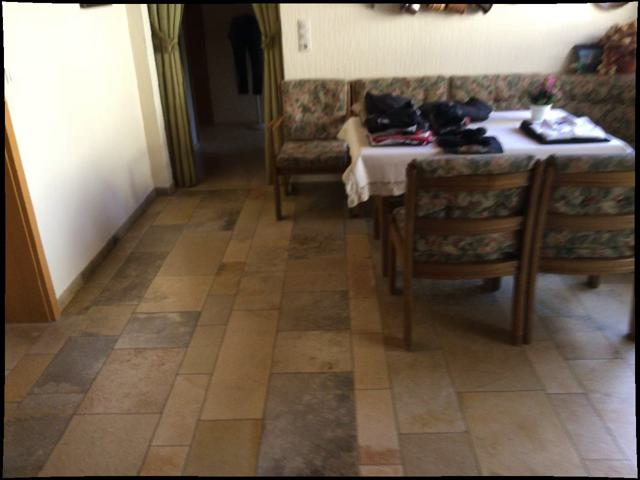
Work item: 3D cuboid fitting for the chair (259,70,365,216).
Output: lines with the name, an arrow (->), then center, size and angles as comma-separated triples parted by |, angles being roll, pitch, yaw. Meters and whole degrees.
chair -> -0.040, -0.691, 4.020 | 0.649, 0.841, 0.650 | -2, 25, 0

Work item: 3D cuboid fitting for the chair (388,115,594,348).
chair -> 0.689, -0.060, 2.610 | 0.679, 0.851, 0.630 | -1, 25, 1

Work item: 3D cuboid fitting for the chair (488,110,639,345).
chair -> 1.189, -0.080, 2.600 | 0.619, 0.851, 0.660 | -1, 25, 1

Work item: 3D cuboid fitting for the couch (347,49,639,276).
couch -> 1.379, -0.581, 3.580 | 2.338, 0.921, 1.540 | -2, 25, 0
